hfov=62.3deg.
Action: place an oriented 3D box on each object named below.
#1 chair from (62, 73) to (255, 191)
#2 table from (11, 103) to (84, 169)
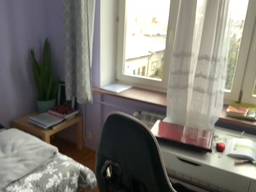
[{"bbox_3d":[0.190,0.570,1.100,0.700,1.200,0.720,19,24,41],"label":"chair"},{"bbox_3d":[-0.950,0.440,2.580,0.580,0.460,0.570,13,20,27],"label":"table"}]
